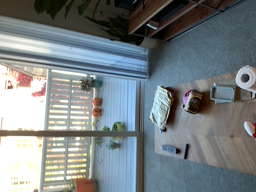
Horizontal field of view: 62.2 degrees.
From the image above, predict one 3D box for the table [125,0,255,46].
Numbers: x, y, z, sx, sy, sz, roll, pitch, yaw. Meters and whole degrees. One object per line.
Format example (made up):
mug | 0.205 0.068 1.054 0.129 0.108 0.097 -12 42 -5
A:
table | 0.580 -1.010 1.840 1.560 0.560 0.600 -12 75 62
